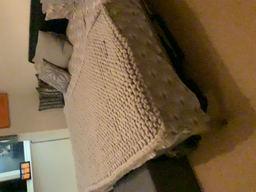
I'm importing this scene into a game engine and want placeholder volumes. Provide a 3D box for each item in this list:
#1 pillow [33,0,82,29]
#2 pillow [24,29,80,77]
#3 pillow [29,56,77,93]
[{"bbox_3d":[-0.750,-0.940,2.250,0.300,0.390,0.170,-42,55,36],"label":"pillow"},{"bbox_3d":[-0.910,-0.500,2.570,0.410,0.480,0.210,-27,61,20],"label":"pillow"},{"bbox_3d":[-0.950,-0.260,2.700,0.380,0.420,0.170,-25,62,16],"label":"pillow"}]
